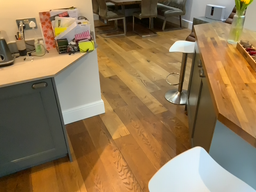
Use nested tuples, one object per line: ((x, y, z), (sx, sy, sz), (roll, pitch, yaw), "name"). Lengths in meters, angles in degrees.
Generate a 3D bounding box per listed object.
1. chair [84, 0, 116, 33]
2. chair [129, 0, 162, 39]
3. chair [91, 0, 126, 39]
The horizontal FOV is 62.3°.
((-0.690, -2.170, 5.260), (0.630, 0.990, 0.490), (-15, 36, -22), "chair")
((0.380, -1.920, 4.870), (0.490, 0.970, 0.640), (-14, 35, -20), "chair")
((-0.450, -1.910, 4.840), (0.630, 0.990, 0.490), (-15, 36, -22), "chair")
